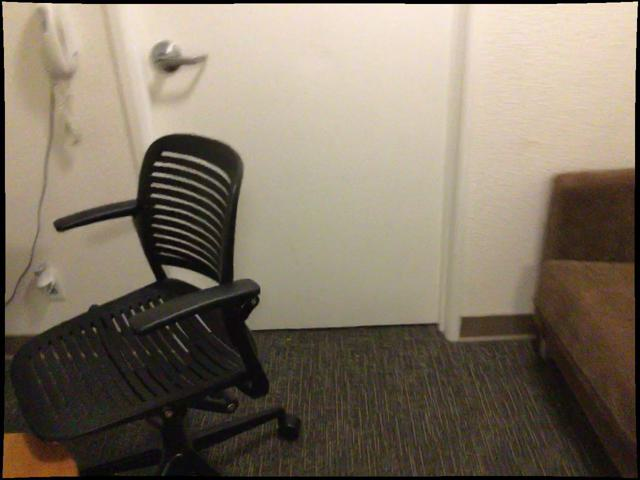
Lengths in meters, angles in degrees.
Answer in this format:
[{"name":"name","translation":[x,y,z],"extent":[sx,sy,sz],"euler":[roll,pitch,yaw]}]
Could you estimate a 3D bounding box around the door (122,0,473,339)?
[{"name":"door","translation":[-0.050,-0.541,1.660],"extent":[0.919,1.931,0.160],"euler":[-3,30,3]}]
